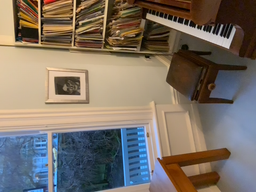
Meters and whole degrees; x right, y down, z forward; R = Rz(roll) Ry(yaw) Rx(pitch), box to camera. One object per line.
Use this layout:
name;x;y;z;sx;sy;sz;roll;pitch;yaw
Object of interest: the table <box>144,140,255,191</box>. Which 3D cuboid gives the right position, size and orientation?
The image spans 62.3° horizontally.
table;0.770;1.000;1.660;1.270;0.760;0.530;-124;39;-54
